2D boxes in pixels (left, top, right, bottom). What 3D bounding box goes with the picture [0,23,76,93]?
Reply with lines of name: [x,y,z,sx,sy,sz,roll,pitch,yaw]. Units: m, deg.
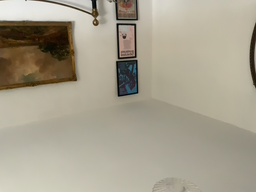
picture: [-1.070,-0.420,2.270,0.960,0.680,0.120,-10,-161,-30]

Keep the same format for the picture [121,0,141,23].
picture: [0.040,-1.200,2.830,0.290,0.420,0.040,-11,-161,-31]
